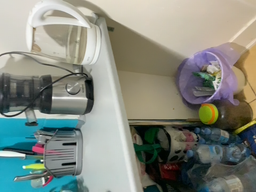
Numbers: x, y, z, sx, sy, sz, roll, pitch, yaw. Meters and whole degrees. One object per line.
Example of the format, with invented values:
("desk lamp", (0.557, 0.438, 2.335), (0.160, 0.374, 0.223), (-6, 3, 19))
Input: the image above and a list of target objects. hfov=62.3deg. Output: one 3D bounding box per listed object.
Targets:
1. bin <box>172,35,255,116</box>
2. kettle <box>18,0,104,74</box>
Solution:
("bin", (0.490, -0.090, 1.160), (0.330, 0.290, 0.270), (-51, 44, 47))
("kettle", (-0.250, -0.220, 0.760), (0.250, 0.240, 0.130), (-51, 44, 47))
